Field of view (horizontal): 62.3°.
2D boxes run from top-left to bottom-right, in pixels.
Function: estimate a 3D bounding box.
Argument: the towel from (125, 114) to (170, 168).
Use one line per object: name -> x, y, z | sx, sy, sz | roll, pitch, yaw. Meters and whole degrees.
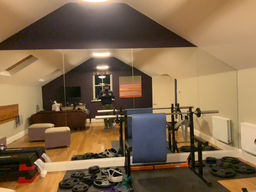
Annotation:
towel -> 0.320, 0.750, 3.600 | 0.710, 0.830, 0.230 | -2, 2, -6
